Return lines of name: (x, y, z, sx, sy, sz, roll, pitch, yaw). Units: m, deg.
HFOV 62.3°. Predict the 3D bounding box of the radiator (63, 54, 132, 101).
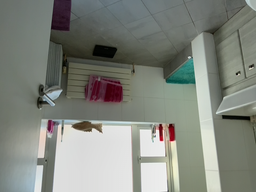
radiator: (-0.360, -0.220, 2.650, 0.830, 0.500, 0.100, 4, 164, -17)
